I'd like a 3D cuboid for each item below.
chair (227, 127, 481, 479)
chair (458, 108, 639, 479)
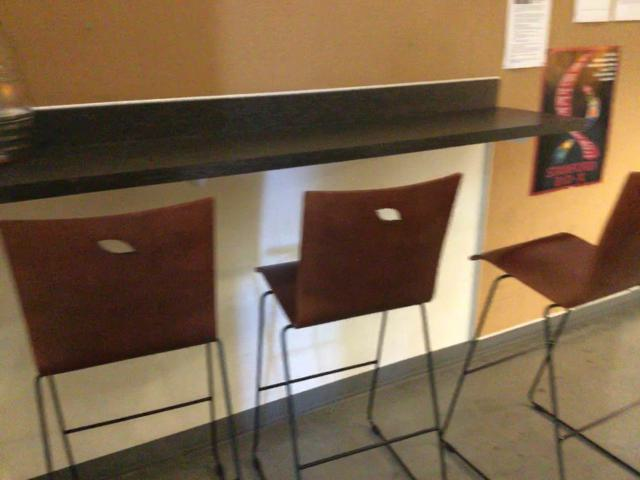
[{"bbox_3d":[0.100,0.220,1.690,0.440,0.940,0.530,-17,24,-14],"label":"chair"},{"bbox_3d":[0.800,0.180,1.730,0.470,0.990,0.520,-18,24,-17],"label":"chair"}]
